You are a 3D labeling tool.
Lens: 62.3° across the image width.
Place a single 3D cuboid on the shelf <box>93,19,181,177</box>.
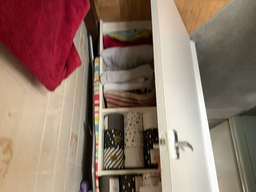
[{"bbox_3d":[0.050,0.000,1.480,0.460,1.040,0.350,-1,156,2],"label":"shelf"}]
